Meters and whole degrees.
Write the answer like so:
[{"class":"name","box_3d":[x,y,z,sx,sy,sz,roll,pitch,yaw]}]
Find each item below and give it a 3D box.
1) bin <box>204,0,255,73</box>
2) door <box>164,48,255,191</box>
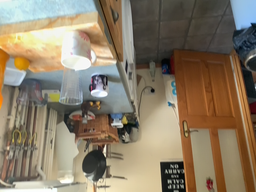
[{"class":"bin","box_3d":[0.900,-0.560,1.610,0.400,0.590,0.520,-3,162,2]},{"class":"door","box_3d":[0.890,0.430,2.280,0.830,1.990,0.160,2,161,-12]}]
